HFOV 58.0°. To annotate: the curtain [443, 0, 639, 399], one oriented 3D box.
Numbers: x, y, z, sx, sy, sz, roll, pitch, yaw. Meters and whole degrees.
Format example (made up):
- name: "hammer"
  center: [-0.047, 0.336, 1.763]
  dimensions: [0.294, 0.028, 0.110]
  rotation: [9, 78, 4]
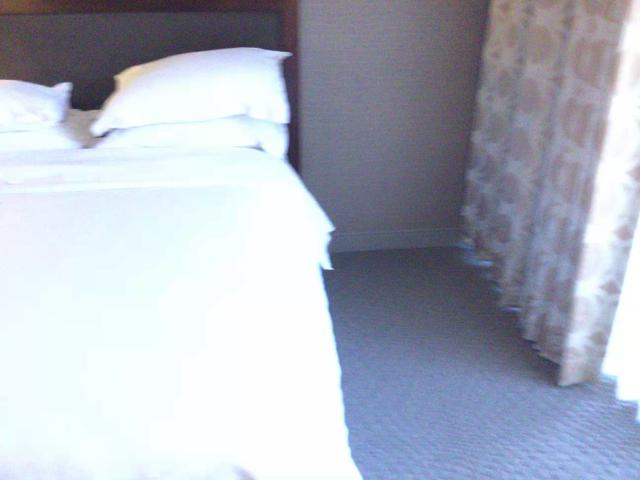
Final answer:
- name: "curtain"
  center: [0.920, -0.680, 2.110]
  dimensions: [0.360, 2.130, 1.190]
  rotation: [-4, 24, -9]
